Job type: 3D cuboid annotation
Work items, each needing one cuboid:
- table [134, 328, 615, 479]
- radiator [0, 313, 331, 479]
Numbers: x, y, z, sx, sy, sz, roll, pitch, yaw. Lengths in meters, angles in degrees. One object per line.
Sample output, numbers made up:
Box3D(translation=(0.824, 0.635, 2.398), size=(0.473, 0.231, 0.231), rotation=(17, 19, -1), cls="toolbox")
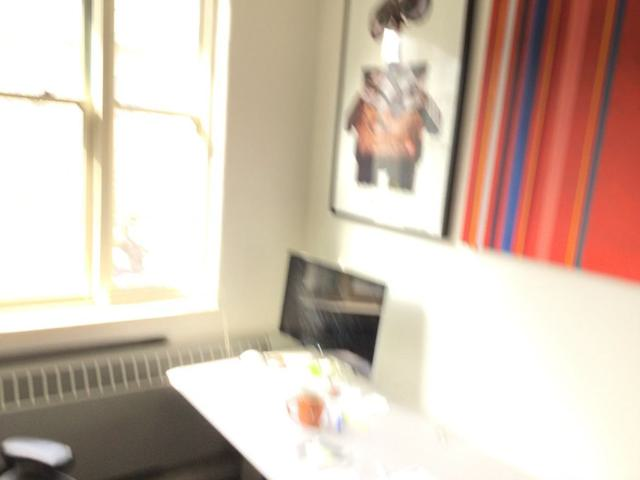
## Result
Box3D(translation=(0.060, 0.970, 2.020), size=(0.870, 0.790, 1.580), rotation=(-1, 11, -37), cls="table")
Box3D(translation=(-1.140, 0.730, 2.200), size=(2.560, 0.630, 0.350), rotation=(0, 11, -34), cls="radiator")
